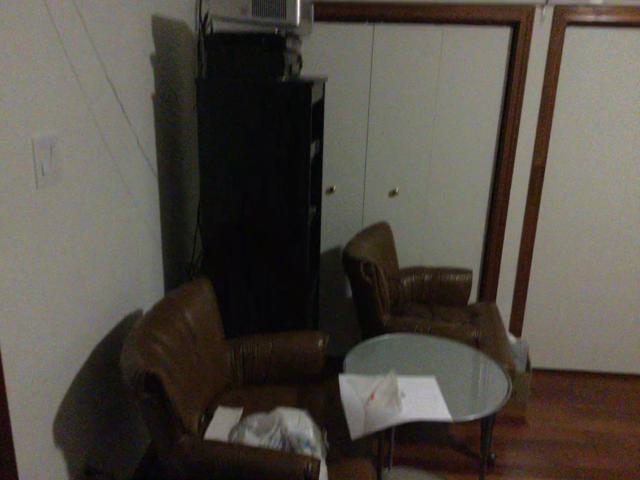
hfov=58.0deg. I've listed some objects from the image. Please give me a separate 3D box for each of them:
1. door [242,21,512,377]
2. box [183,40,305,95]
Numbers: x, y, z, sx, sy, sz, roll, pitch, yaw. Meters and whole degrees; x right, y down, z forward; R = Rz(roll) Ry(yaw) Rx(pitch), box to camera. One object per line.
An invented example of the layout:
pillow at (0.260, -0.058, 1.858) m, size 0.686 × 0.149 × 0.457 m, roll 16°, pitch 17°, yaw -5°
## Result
door at (0.240, -0.130, 2.640) m, size 1.080 × 1.600 × 0.160 m, roll 0°, pitch 18°, yaw 4°
box at (-0.240, -0.600, 2.000) m, size 0.340 × 0.160 × 0.420 m, roll 0°, pitch 18°, yaw 4°
